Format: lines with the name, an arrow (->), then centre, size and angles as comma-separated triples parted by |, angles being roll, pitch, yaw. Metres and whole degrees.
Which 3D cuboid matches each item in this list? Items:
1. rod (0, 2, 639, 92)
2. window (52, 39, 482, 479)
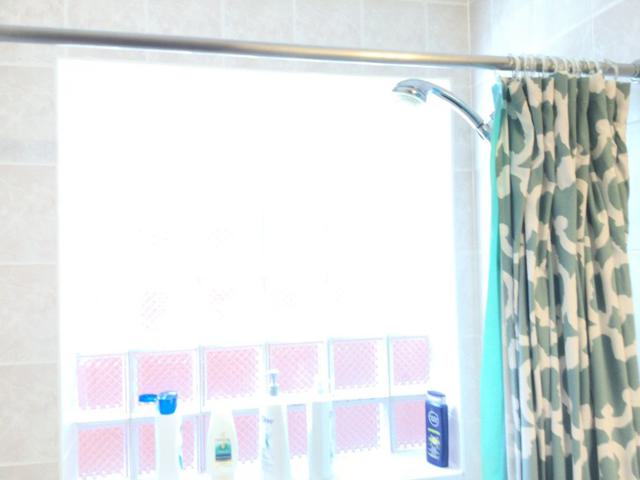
rod -> -0.080, -0.310, 0.930 | 1.420, 0.050, 0.070 | 0, -1, -13
window -> -0.130, 0.100, 1.680 | 1.140, 1.190, 0.290 | 0, -1, -13
